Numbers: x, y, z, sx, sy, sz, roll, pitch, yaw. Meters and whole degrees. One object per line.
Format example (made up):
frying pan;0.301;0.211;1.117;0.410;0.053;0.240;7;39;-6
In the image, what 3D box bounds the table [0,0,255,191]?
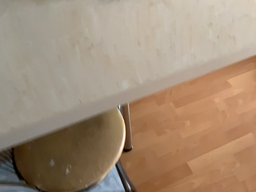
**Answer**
table;-0.110;-0.150;1.020;0.700;0.860;1.050;-21;54;-13
